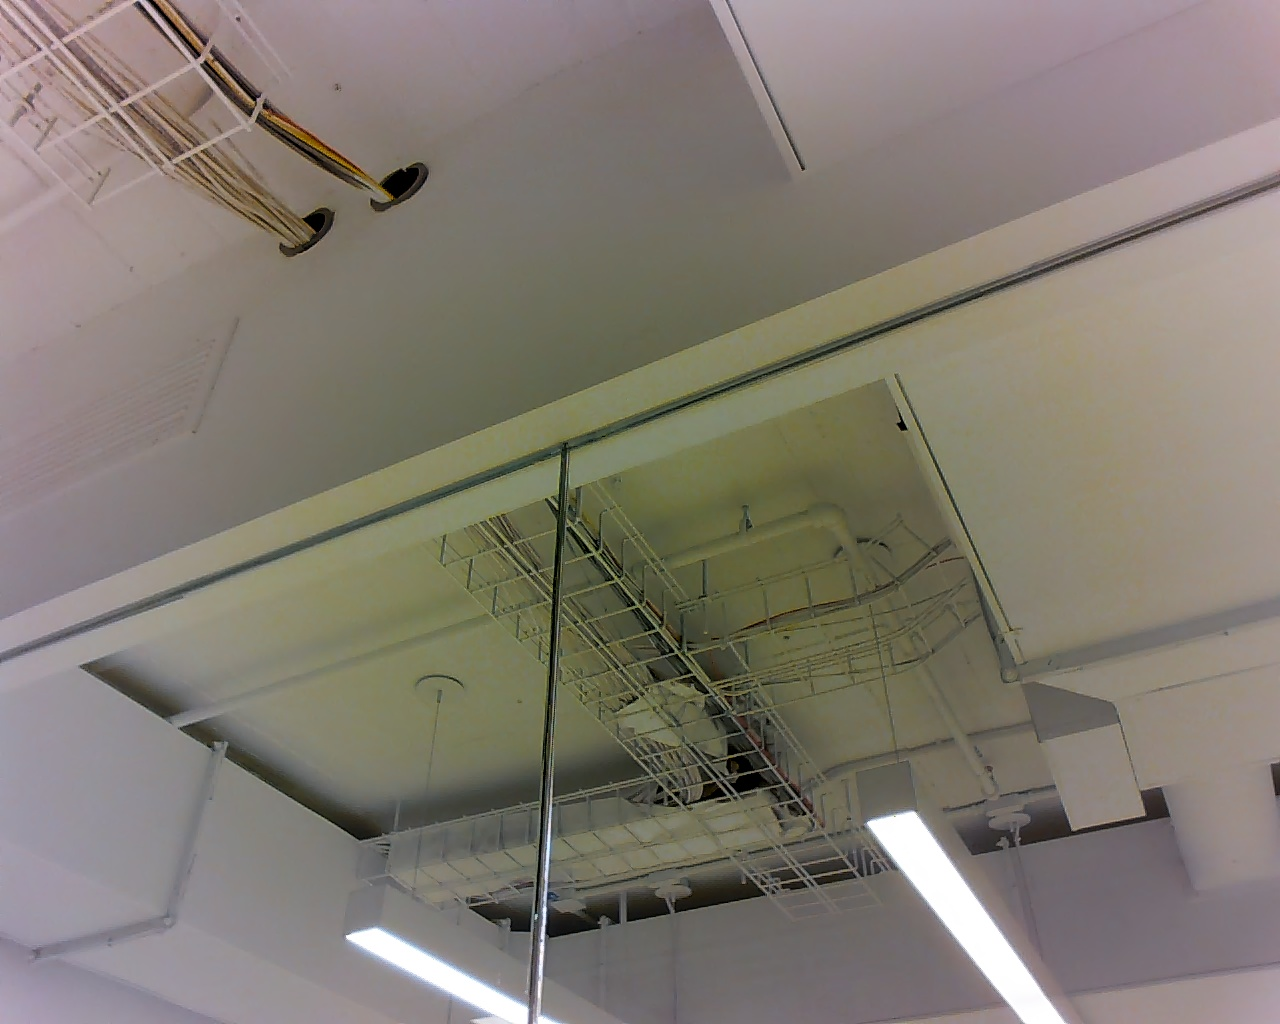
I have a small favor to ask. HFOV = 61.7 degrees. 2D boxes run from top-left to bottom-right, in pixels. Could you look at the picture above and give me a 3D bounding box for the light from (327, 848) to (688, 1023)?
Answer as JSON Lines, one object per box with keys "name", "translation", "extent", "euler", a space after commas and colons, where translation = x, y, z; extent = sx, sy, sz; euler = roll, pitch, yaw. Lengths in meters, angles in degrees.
{"name": "light", "translation": [-0.030, 1.581, 3.190], "extent": [0.200, 0.180, 2.470], "euler": [-19, -45, 20]}
